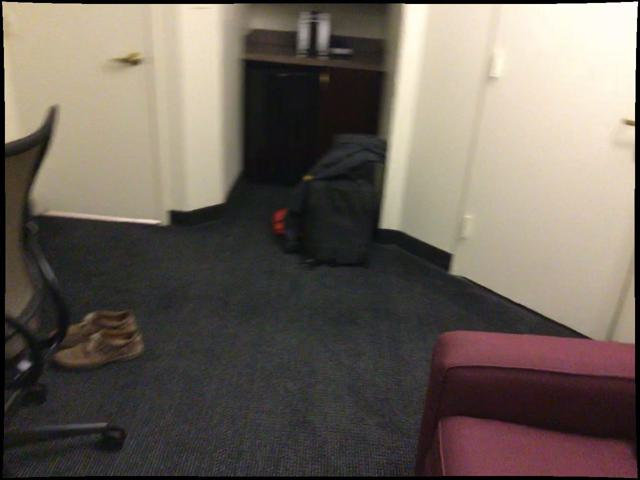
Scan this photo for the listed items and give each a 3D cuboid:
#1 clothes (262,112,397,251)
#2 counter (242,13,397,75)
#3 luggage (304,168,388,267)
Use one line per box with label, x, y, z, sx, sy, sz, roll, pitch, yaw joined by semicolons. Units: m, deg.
clothes;0.040;-0.330;3.230;0.659;0.620;0.390;5;26;0
counter;0.000;-1.361;3.980;0.969;0.240;0.650;5;27;-1
luggage;0.130;-0.120;3.060;0.390;0.420;0.260;5;26;-1
